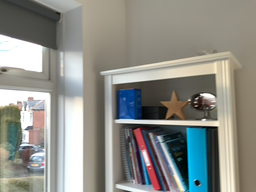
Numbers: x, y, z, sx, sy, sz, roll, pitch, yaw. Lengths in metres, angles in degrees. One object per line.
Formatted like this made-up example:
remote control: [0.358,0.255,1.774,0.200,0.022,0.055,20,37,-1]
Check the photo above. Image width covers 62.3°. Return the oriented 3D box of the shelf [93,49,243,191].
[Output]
shelf: [0.200,0.780,1.090,0.690,1.880,0.330,-4,-5,34]
